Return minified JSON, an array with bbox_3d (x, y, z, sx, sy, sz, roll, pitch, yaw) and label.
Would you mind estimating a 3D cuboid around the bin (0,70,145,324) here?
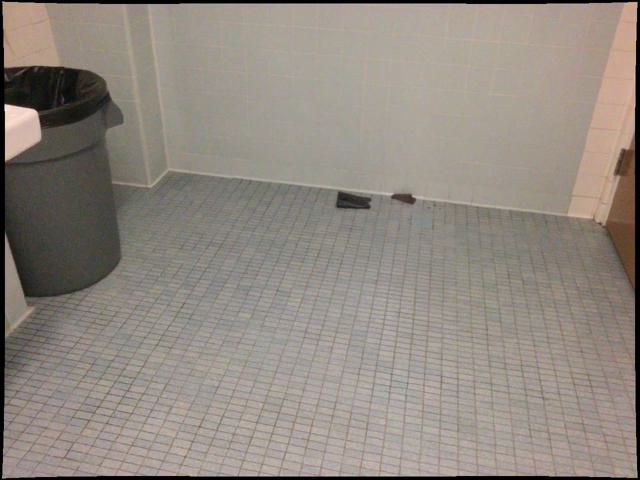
[{"bbox_3d":[-1.057,-0.180,2.050,0.589,0.651,0.570,8,32,7],"label":"bin"}]
